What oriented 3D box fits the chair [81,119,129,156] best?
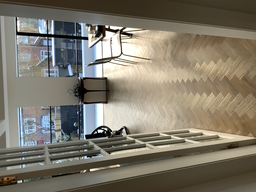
[{"bbox_3d":[-0.520,0.890,4.510,0.760,0.790,0.610,141,124,-62],"label":"chair"}]

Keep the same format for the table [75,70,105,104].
[{"bbox_3d":[-1.000,-0.240,5.580,0.340,0.720,0.830,-171,81,-67],"label":"table"}]
